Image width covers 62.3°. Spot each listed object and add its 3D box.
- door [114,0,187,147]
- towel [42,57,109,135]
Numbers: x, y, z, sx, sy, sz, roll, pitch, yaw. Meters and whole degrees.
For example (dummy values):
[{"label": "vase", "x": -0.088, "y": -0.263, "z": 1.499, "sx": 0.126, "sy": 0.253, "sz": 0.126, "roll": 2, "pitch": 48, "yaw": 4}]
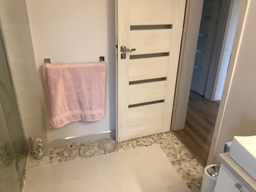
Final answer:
[{"label": "door", "x": 0.200, "y": -0.370, "z": 2.240, "sx": 0.680, "sy": 2.030, "sz": 0.120, "roll": -5, "pitch": 26, "yaw": -16}, {"label": "towel", "x": -0.510, "y": 0.000, "z": 2.180, "sx": 0.600, "sy": 0.740, "sz": 0.160, "roll": -6, "pitch": 26, "yaw": -18}]
